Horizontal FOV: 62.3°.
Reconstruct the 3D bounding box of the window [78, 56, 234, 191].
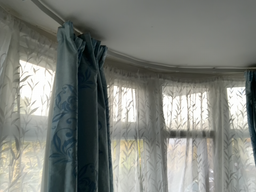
[{"bbox_3d":[0.280,0.550,1.570,1.270,1.510,0.140,5,-12,-27],"label":"window"}]
